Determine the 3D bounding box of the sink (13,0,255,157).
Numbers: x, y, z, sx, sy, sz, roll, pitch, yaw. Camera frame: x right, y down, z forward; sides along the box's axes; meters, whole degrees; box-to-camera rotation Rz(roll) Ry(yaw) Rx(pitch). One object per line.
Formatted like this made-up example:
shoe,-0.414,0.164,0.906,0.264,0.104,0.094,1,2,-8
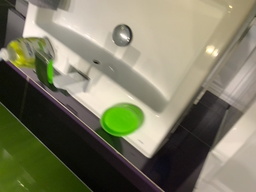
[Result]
sink,-0.040,-0.210,0.650,0.600,0.200,0.480,35,120,17
